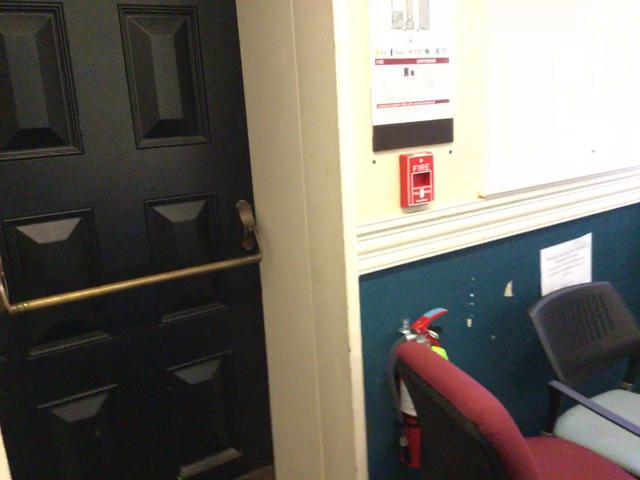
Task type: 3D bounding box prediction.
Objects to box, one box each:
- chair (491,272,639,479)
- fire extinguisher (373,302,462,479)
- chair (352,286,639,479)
[{"bbox_3d":[0.920,0.600,1.660,0.590,0.820,0.580,-12,15,-34],"label":"chair"},{"bbox_3d":[0.270,0.430,1.580,0.190,0.470,0.130,-10,14,-29],"label":"fire extinguisher"},{"bbox_3d":[0.490,0.660,1.370,0.630,0.910,0.550,-7,13,-16],"label":"chair"}]
